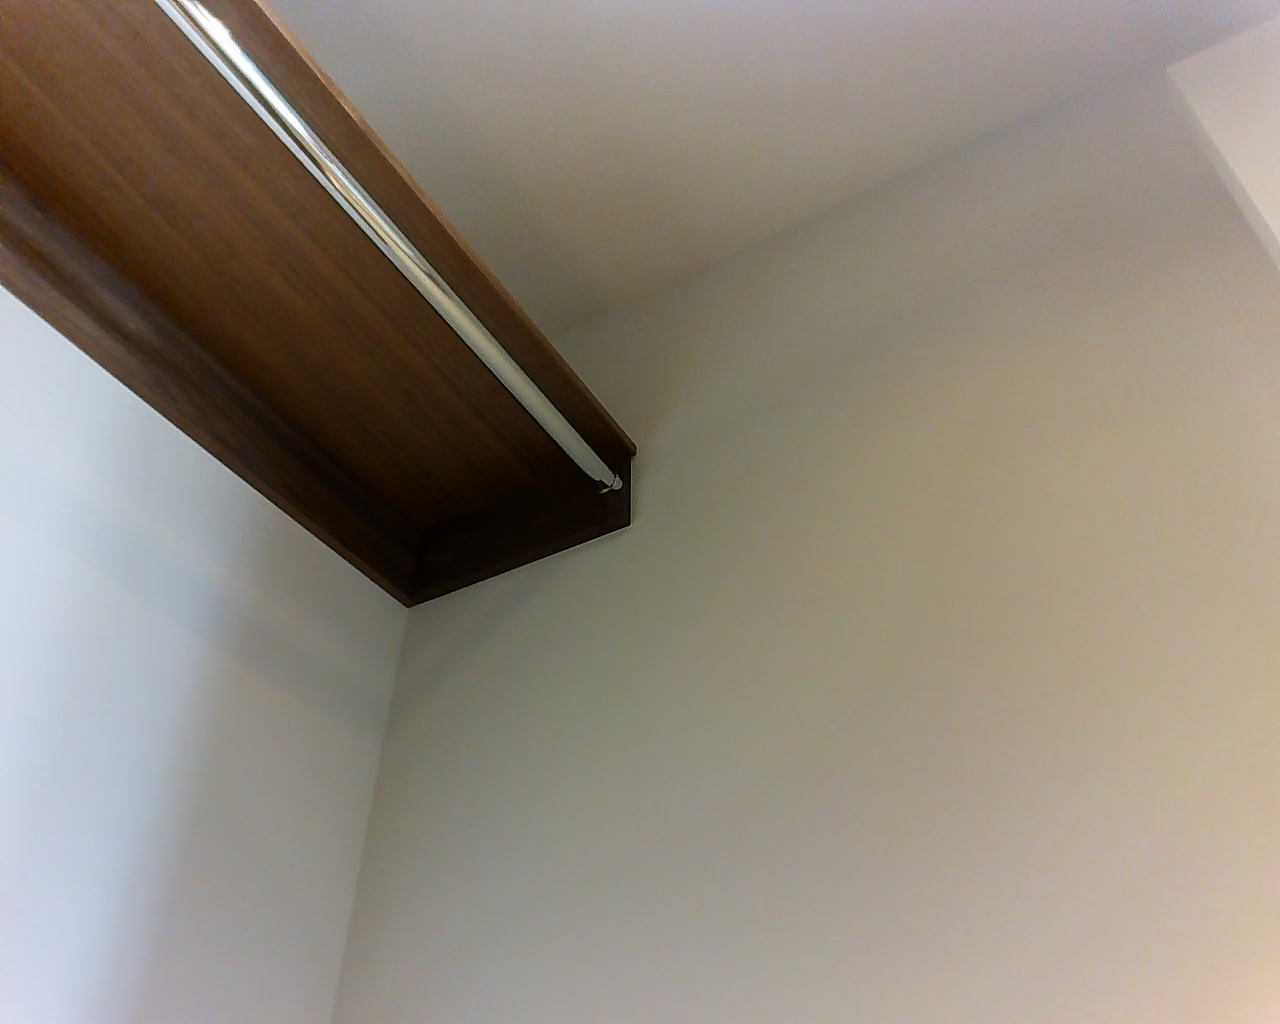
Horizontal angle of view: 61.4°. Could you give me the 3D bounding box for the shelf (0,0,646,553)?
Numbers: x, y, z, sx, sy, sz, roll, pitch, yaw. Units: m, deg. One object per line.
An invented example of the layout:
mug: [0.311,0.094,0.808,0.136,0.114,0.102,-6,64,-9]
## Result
shelf: [-0.540,-0.450,1.150,0.410,0.060,1.480,-20,-46,23]
